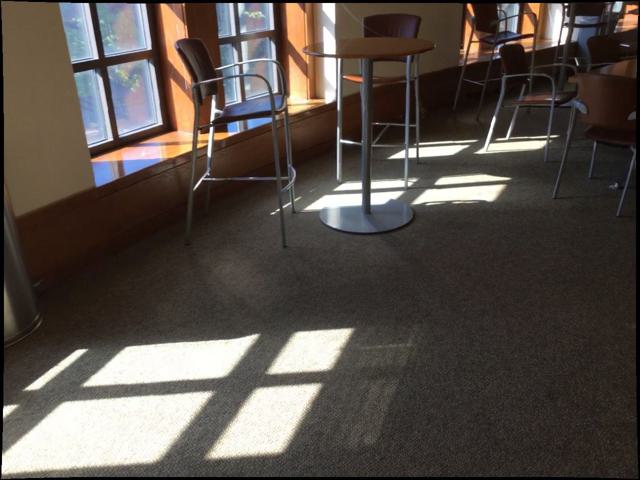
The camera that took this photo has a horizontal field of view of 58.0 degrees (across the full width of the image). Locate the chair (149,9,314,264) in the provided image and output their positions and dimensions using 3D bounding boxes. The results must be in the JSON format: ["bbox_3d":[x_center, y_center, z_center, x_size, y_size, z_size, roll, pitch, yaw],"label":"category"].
[{"bbox_3d":[-0.429,-0.561,3.220,0.648,1.283,0.470,-3,24,6],"label":"chair"}]

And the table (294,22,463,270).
[{"bbox_3d":[0.359,-0.561,3.270,0.579,1.182,0.689,18,33,42],"label":"table"}]
